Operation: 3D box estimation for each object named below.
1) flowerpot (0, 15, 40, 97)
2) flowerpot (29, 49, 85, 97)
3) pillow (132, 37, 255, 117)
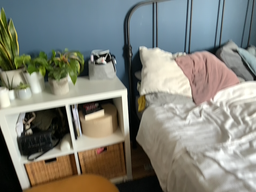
[{"bbox_3d":[-0.750,-0.260,1.360,0.230,0.470,0.210,-8,25,-12],"label":"flowerpot"},{"bbox_3d":[-0.470,-0.170,1.440,0.290,0.200,0.340,-9,25,-14],"label":"flowerpot"},{"bbox_3d":[0.870,-0.240,1.710,1.590,0.320,0.510,-10,25,-16],"label":"pillow"}]
